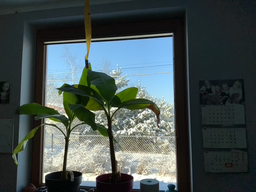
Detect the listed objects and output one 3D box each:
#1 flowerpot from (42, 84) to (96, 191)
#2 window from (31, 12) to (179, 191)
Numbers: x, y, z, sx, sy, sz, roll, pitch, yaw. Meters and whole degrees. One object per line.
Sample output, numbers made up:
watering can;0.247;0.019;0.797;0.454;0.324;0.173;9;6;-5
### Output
flowerpot;-0.500;0.420;1.840;0.360;1.020;0.240;-1;-5;12
window;-0.230;0.080;2.020;1.360;1.610;0.180;-1;-5;12
